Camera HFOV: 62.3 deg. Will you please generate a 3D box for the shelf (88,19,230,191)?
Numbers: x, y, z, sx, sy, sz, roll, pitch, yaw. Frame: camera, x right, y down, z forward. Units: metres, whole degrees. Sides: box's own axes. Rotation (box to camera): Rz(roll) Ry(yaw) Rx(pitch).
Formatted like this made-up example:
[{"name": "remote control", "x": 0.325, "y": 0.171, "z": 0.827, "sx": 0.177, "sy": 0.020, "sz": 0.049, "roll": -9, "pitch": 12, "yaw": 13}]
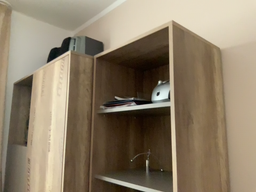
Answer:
[{"name": "shelf", "x": 0.120, "y": 0.400, "z": 0.960, "sx": 0.380, "sy": 1.260, "sz": 0.510, "roll": 9, "pitch": -13, "yaw": -42}]
